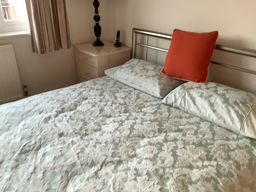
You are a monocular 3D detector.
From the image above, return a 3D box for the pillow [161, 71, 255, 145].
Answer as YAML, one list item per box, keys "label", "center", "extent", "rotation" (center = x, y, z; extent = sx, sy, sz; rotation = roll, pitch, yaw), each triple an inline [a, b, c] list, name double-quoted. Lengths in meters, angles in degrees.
- label: "pillow"
  center: [0.650, 0.030, 1.550]
  extent: [0.450, 0.170, 0.660]
  rotation: [-20, 33, -36]

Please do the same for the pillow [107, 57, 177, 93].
- label: "pillow"
  center: [0.110, -0.220, 1.990]
  extent: [0.340, 0.100, 0.580]
  rotation: [-20, 33, -36]

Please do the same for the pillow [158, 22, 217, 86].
- label: "pillow"
  center: [0.500, -0.350, 1.760]
  extent: [0.400, 0.420, 0.180]
  rotation: [25, 57, 40]
